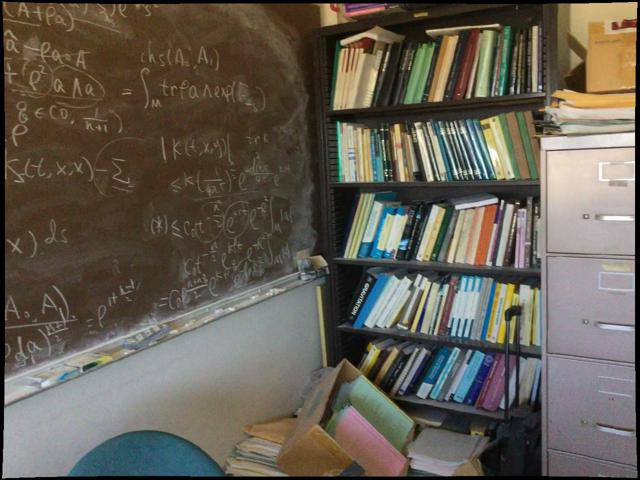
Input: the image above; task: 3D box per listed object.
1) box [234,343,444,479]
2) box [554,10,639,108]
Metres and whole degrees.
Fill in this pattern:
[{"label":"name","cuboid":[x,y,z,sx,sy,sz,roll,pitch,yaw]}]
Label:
[{"label":"box","cuboid":[0.110,0.752,2.200,0.539,0.461,0.680,2,10,28]},{"label":"box","cuboid":[0.828,-0.511,1.660,0.259,0.231,0.210,2,10,28]}]
